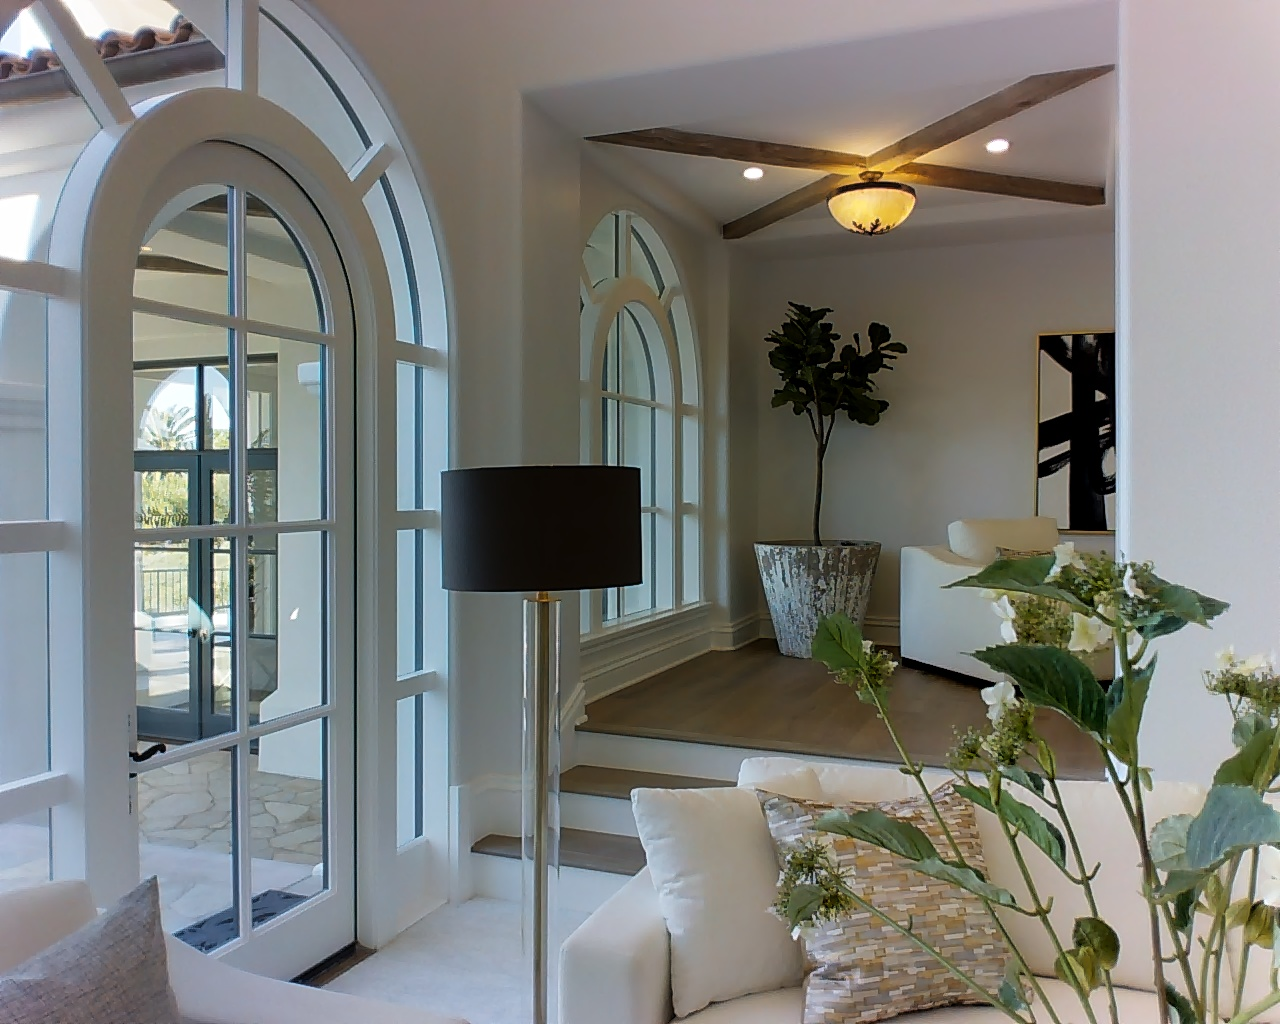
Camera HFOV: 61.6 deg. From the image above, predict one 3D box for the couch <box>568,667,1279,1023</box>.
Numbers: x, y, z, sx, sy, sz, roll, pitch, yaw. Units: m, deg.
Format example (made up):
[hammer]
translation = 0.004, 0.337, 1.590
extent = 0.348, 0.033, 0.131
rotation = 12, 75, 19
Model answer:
[couch]
translation = 0.530, 0.860, 2.080
extent = 1.120, 0.920, 1.100
rotation = 0, 0, -17
